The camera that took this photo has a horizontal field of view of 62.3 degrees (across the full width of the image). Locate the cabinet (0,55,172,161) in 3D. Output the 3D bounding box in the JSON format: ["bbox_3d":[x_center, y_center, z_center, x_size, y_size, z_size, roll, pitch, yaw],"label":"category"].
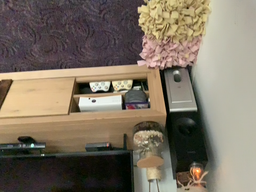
[{"bbox_3d":[-0.450,0.110,1.470,1.390,0.440,0.500,-4,142,3],"label":"cabinet"}]
